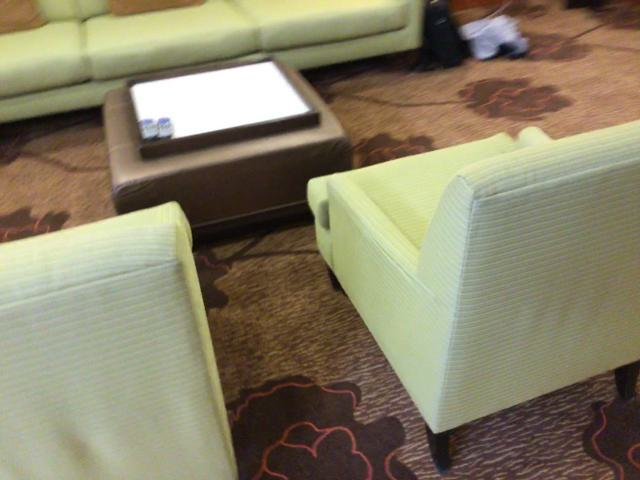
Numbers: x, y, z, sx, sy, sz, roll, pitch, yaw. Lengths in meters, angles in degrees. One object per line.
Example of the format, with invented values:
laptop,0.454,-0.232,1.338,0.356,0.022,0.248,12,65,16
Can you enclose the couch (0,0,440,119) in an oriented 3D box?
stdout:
couch,-0.860,-1.410,3.380,3.050,0.960,0.810,5,39,11

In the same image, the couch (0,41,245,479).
couch,-0.670,0.200,1.340,0.800,0.910,0.950,-12,39,-11

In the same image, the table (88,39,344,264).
table,-0.460,-0.430,2.470,0.890,0.470,0.820,-14,39,-13

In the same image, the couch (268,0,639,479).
couch,0.390,-0.050,1.570,0.760,0.900,0.950,-14,39,-13
